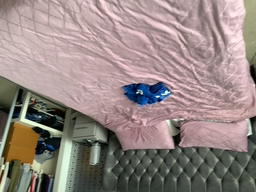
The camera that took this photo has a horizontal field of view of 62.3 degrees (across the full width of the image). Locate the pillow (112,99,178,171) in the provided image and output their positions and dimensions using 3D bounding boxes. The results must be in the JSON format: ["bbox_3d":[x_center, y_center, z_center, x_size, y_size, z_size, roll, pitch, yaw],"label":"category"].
[{"bbox_3d":[0.190,0.440,2.480,0.660,0.480,0.150,-56,144,-4],"label":"pillow"}]

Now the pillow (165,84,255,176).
[{"bbox_3d":[0.840,0.340,2.150,0.780,0.460,0.240,-48,144,3],"label":"pillow"}]
